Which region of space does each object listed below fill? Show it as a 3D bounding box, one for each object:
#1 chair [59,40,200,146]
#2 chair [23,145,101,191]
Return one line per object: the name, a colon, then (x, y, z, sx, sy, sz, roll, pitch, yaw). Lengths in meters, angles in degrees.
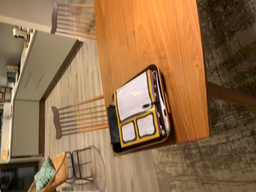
chair: (-0.010, 0.050, 1.710, 0.590, 0.900, 0.570, -30, 61, 51)
chair: (-1.150, 1.260, 3.460, 1.410, 0.820, 0.610, -34, 58, 50)
